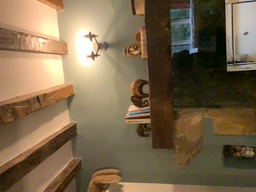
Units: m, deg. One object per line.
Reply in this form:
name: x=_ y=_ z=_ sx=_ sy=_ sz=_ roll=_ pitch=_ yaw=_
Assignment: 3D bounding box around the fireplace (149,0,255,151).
fireplace: x=1.130 y=-0.470 z=1.900 sx=0.880 sy=1.780 sz=1.660 roll=-41 pitch=-52 yaw=-77
